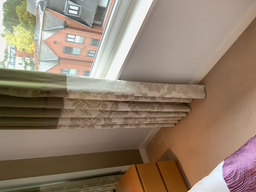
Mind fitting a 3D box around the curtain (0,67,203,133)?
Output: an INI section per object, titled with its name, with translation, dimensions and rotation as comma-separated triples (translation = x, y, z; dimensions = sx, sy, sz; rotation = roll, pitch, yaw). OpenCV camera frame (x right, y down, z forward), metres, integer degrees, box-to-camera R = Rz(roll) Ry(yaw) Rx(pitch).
[curtain]
translation = -0.380, 0.070, 1.620
dimensions = 0.550, 2.120, 0.110
rotation = -59, 39, 42
